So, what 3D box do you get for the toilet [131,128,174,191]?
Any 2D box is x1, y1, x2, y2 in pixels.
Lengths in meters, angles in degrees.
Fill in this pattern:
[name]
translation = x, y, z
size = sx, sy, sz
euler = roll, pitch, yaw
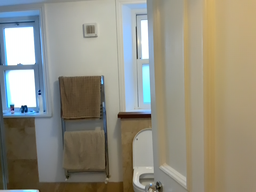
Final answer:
[toilet]
translation = 0.230, 0.800, 2.150
size = 0.370, 0.830, 0.560
euler = -2, 5, 2
